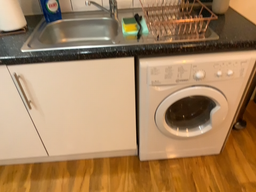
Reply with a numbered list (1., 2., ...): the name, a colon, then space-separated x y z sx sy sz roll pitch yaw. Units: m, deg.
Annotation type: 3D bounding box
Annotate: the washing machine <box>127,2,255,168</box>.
1. washing machine: 0.330 -0.060 1.470 0.600 0.920 0.630 -4 40 -2
